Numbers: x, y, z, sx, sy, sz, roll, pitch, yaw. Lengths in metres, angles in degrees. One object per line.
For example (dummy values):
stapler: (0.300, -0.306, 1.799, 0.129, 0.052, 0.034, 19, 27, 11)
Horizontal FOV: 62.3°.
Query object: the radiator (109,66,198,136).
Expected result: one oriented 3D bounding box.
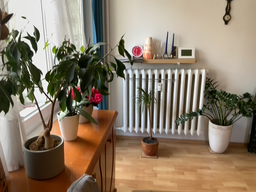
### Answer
radiator: (0.310, 0.070, 2.860, 1.100, 0.880, 0.190, 3, 16, 4)
